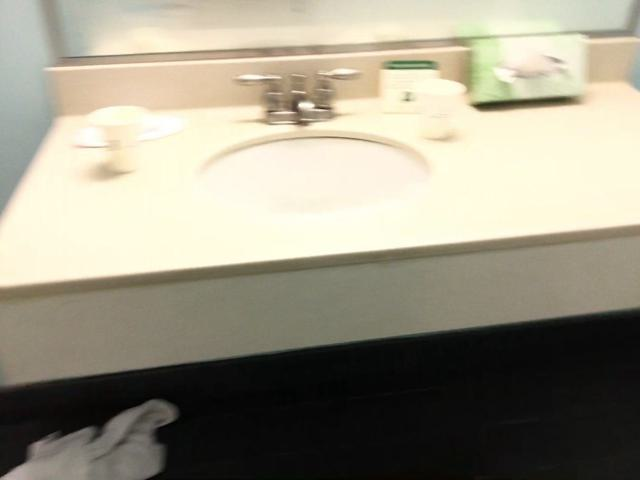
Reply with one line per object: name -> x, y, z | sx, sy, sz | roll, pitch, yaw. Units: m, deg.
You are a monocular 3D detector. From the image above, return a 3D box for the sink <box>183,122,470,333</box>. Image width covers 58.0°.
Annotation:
sink -> -0.010, -0.040, 1.000 | 0.410, 0.210, 0.310 | -3, 34, -8
